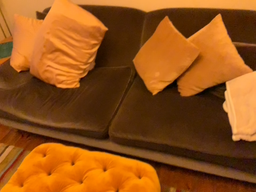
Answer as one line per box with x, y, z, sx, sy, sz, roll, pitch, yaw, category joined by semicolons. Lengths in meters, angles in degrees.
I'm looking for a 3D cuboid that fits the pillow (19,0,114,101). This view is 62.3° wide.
-0.500;-0.350;1.660;0.470;0.650;0.240;35;39;-10;pillow

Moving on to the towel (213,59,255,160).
0.830;0.050;1.260;0.470;0.270;0.610;2;39;8;towel

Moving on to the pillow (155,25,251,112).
0.490;-0.230;1.540;0.200;0.490;0.510;26;13;-21;pillow

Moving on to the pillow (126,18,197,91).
0.220;-0.320;1.630;0.160;0.440;0.530;20;6;-23;pillow
